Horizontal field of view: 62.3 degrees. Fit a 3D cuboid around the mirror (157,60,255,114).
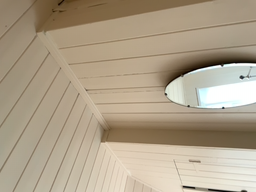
[{"bbox_3d":[0.560,-0.030,1.300,0.430,0.680,0.050,64,-148,-47],"label":"mirror"}]
